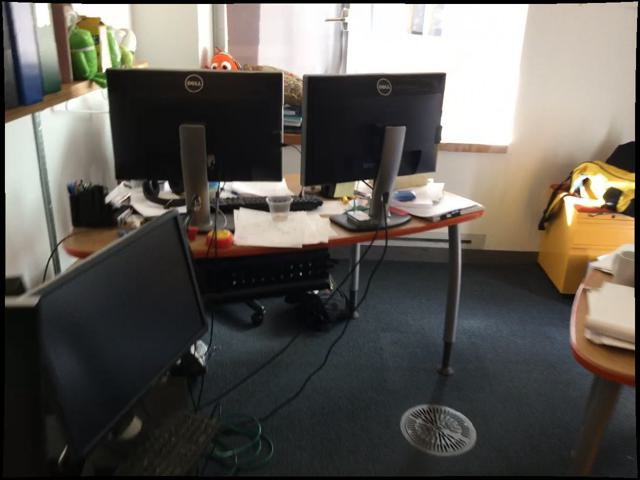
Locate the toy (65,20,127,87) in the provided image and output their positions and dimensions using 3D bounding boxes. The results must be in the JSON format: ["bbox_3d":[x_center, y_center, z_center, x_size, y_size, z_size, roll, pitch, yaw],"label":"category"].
[{"bbox_3d":[-0.709,-0.601,1.850,0.080,0.170,0.270,4,24,0],"label":"toy"}]

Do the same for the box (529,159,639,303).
[{"bbox_3d":[1.548,-0.060,3.200,0.509,0.631,0.480,4,24,0],"label":"box"}]

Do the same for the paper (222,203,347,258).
[{"bbox_3d":[-0.130,-0.040,1.930,0.370,0.050,0.310,-2,25,-12],"label":"paper"}]
